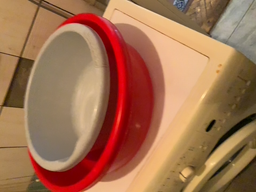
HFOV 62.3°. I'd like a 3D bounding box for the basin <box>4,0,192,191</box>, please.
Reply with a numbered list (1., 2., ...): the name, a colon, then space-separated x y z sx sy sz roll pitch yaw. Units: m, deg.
1. basin: -0.160 -0.020 0.600 0.500 0.140 0.430 43 111 39
